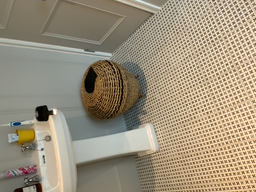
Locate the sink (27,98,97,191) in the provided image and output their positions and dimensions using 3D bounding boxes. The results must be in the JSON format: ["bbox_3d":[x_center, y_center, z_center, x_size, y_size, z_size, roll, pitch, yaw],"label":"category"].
[{"bbox_3d":[-0.420,0.350,1.270,0.450,0.170,0.550,-30,68,45],"label":"sink"}]

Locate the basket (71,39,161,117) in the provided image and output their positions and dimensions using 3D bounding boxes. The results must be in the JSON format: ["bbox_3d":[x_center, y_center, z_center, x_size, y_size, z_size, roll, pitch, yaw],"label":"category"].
[{"bbox_3d":[-0.110,-0.120,1.750,0.440,0.490,0.430,-33,66,45],"label":"basket"}]
